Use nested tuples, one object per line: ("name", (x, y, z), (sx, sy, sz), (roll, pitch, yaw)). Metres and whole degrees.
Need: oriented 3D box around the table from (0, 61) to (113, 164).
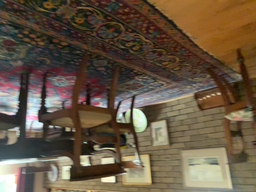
("table", (-1.350, 0.390, 2.450), (1.950, 0.730, 1.310), (-17, 160, 38))
